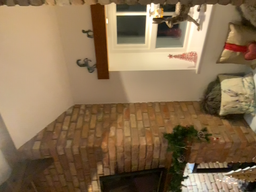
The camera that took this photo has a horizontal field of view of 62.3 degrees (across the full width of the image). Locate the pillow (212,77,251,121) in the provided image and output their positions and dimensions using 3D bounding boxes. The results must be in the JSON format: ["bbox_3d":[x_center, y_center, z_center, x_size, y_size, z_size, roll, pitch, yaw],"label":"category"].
[{"bbox_3d":[1.100,0.030,2.260,0.140,0.300,0.410,167,92,-67],"label":"pillow"}]

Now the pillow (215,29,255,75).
[{"bbox_3d":[1.100,-0.420,2.050,0.200,0.350,0.390,-94,4,-50],"label":"pillow"}]
